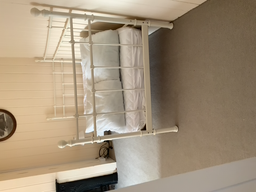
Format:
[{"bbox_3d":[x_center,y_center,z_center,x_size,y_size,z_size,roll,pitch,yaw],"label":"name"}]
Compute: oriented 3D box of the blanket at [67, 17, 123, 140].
[{"bbox_3d":[-0.390,-0.140,2.150,1.000,0.280,0.950,180,88,-67],"label":"blanket"}]
